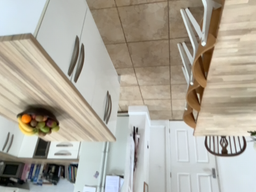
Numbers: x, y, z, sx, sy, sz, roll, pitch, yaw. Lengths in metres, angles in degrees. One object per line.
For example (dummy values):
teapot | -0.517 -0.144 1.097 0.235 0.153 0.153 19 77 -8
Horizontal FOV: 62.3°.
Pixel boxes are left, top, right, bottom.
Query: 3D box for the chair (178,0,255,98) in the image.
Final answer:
chair | 0.670 -0.430 1.660 0.510 0.770 0.430 -2 151 13
